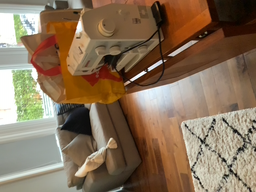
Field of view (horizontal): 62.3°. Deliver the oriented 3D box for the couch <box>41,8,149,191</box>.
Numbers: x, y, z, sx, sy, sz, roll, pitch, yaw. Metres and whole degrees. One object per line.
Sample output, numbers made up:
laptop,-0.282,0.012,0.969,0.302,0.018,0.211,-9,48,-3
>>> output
couch,-0.750,-0.090,3.400,2.930,0.810,0.920,67,150,29
